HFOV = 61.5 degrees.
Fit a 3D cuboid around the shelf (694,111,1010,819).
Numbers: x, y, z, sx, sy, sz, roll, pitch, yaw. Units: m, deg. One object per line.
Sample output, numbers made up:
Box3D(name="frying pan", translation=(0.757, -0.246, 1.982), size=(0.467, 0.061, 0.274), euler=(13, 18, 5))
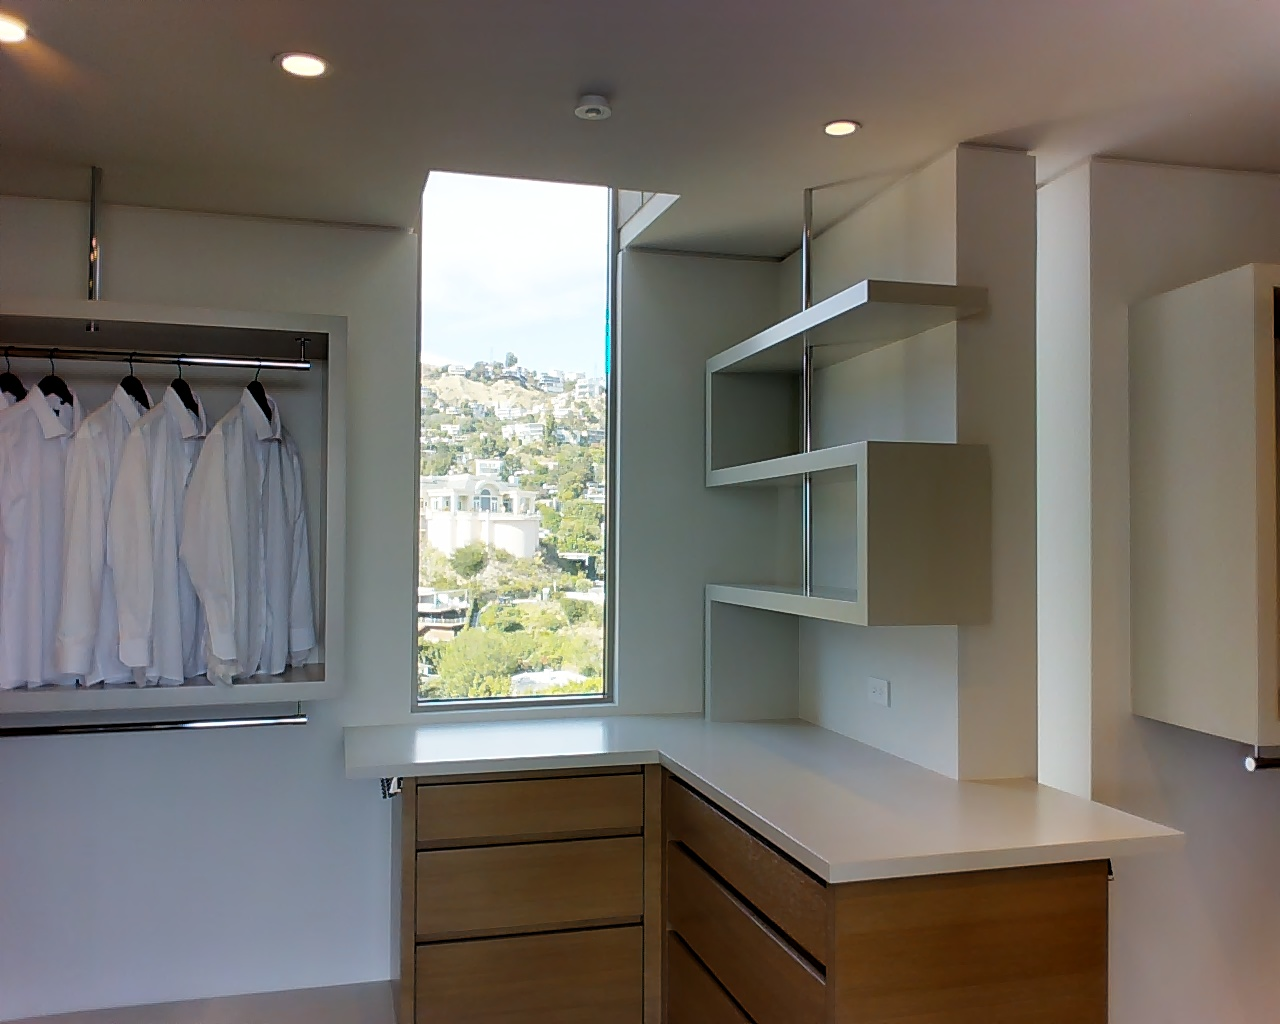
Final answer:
Box3D(name="shelf", translation=(0.560, -0.100, 3.300), size=(0.410, 1.710, 1.350), euler=(1, -2, -14))
